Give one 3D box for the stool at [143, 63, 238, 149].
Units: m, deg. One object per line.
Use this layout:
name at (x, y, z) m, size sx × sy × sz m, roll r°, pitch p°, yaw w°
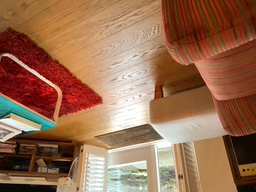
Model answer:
stool at (0.490, 0.120, 1.680) m, size 0.570 × 0.370 × 0.510 m, roll -16°, pitch 145°, yaw 23°
